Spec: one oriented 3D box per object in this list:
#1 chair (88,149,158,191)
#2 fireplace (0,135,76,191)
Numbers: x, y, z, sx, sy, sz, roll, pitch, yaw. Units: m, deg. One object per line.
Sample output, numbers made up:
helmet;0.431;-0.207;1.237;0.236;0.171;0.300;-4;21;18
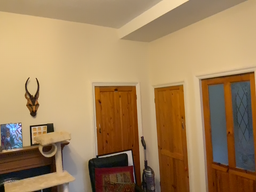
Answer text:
chair;-0.070;1.270;2.750;0.700;0.940;0.580;-2;-1;-27
fireplace;-1.370;1.180;2.460;1.370;1.210;0.590;-2;-1;-34
